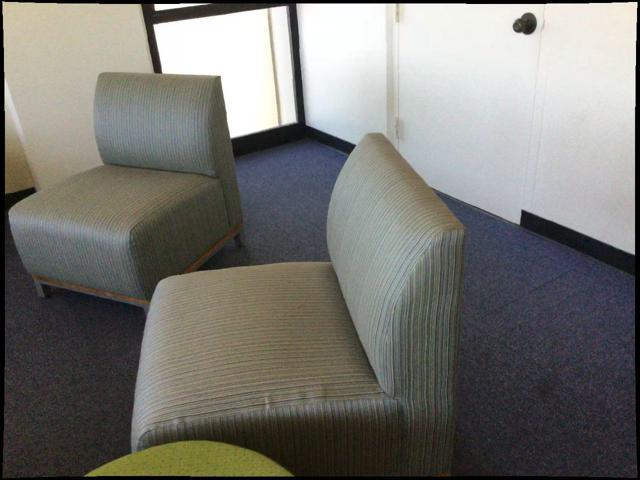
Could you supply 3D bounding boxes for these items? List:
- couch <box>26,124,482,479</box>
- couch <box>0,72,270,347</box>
[{"bbox_3d":[-0.130,0.251,1.570,0.848,0.842,0.700,-9,29,-7],"label":"couch"},{"bbox_3d":[-0.818,-0.201,2.510,0.798,0.832,0.830,9,32,24],"label":"couch"}]
